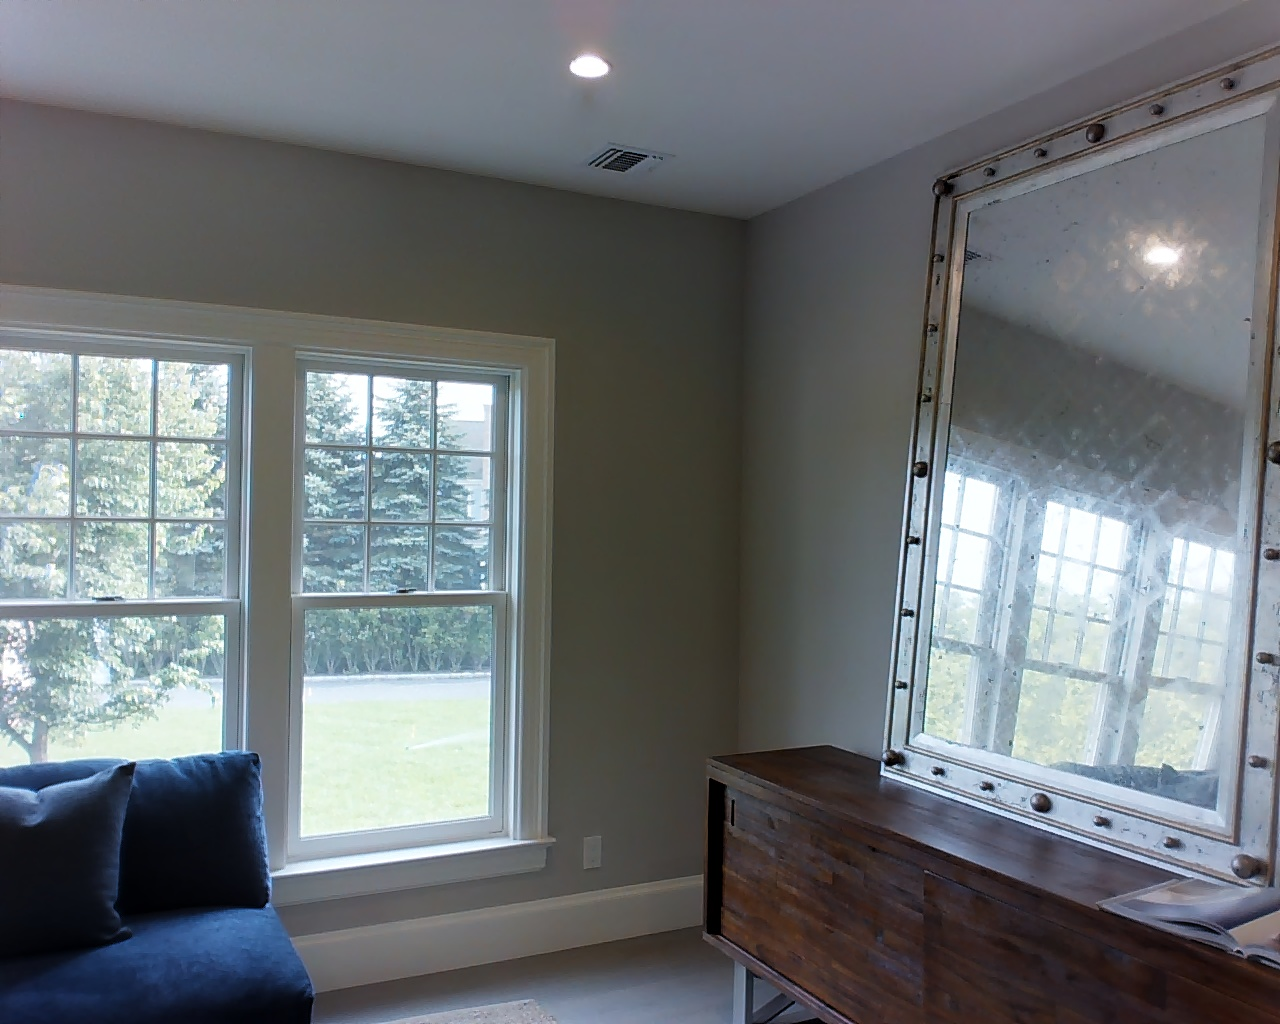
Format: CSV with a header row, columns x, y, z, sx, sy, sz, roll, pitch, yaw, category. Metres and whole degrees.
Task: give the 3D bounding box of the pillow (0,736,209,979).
x,y,z,sx,sy,sz,roll,pitch,yaw,category
-1.440,0.830,2.630,0.580,0.440,0.340,18,-8,-28,pillow
